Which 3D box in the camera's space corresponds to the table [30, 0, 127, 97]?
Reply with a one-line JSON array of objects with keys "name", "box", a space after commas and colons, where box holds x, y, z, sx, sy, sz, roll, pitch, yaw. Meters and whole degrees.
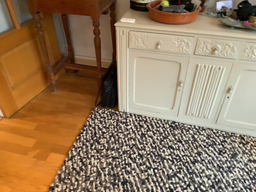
[{"name": "table", "box": [-0.390, -0.630, 1.990, 0.640, 1.090, 0.530, 10, 40, 12]}]
